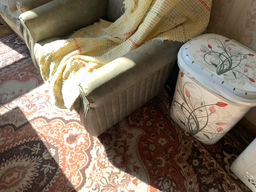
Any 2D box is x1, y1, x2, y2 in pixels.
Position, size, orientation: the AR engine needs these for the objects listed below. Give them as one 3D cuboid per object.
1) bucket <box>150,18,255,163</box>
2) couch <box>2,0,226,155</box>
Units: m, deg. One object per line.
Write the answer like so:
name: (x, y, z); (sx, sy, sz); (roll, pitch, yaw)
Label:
bucket: (0.430, -0.010, 1.140); (0.370, 0.560, 0.410); (-32, 61, -24)
couch: (-0.100, -0.390, 1.170); (0.810, 0.940, 0.770); (-32, 60, -24)
